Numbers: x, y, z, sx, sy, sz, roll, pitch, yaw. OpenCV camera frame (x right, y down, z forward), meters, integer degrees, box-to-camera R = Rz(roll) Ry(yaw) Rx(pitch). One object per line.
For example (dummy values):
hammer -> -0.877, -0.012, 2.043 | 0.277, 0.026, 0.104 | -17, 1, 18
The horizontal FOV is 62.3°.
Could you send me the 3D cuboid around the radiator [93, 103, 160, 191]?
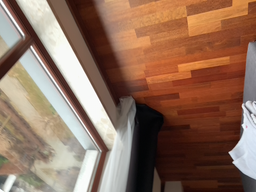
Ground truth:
radiator -> 0.070, 0.870, 1.860 | 0.200, 1.020, 1.240 | -7, 132, 16
